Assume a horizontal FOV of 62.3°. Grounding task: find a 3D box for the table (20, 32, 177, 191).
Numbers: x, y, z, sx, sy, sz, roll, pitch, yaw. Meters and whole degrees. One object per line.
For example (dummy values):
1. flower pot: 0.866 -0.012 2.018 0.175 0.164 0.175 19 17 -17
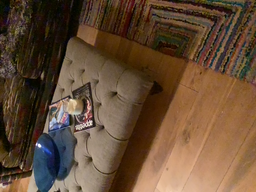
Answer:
1. table: -0.360 0.440 1.570 0.800 0.340 1.570 35 110 40
